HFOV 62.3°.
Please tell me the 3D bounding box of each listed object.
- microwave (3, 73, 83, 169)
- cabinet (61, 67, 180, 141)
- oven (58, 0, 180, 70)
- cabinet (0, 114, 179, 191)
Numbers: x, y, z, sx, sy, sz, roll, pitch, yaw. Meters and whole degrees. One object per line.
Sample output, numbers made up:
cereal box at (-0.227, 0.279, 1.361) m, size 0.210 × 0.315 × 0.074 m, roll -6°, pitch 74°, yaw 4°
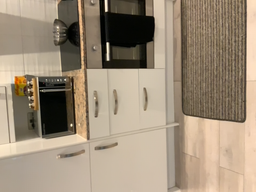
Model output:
microwave at (-0.680, 0.120, 1.650) m, size 0.600 × 0.440 × 0.580 m, roll 10°, pitch 102°, yaw 57°
cabinet at (-0.070, 0.010, 1.950) m, size 0.610 × 0.890 × 0.510 m, roll 7°, pitch 100°, yaw 58°
oven at (-0.080, -0.550, 1.900) m, size 0.610 × 0.890 × 0.600 m, roll 7°, pitch 100°, yaw 58°
cabinet at (-0.580, 0.630, 1.680) m, size 0.600 × 2.130 × 0.650 m, roll 7°, pitch 100°, yaw 58°
